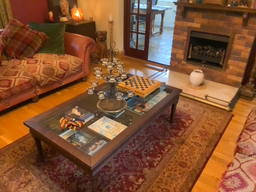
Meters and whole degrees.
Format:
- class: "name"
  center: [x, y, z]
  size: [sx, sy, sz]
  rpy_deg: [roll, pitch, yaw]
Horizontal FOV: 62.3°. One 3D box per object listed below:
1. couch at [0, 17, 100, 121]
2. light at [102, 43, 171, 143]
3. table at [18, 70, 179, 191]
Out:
- class: "couch"
  center: [-1.590, -0.450, 2.930]
  size: [1.110, 0.840, 2.280]
  rpy_deg: [22, 35, 31]
- class: "light"
  center: [0.080, -0.050, 2.380]
  size: [0.500, 0.890, 0.510]
  rpy_deg: [21, 34, 30]
- class: "table"
  center: [-0.190, 0.250, 2.160]
  size: [0.830, 0.460, 1.370]
  rpy_deg: [21, 34, 30]
